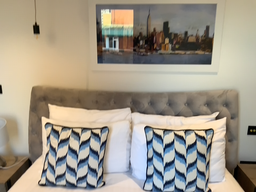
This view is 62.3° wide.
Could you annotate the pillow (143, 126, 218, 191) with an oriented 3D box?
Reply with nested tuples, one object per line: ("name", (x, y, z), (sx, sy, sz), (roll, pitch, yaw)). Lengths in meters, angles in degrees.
("pillow", (0.330, 0.420, 1.410), (0.440, 0.400, 0.190), (2, 0, 3))

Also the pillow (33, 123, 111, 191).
("pillow", (-0.360, 0.400, 1.430), (0.440, 0.390, 0.210), (3, -4, 4))
